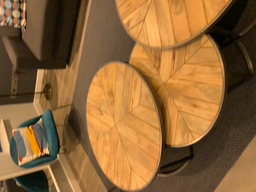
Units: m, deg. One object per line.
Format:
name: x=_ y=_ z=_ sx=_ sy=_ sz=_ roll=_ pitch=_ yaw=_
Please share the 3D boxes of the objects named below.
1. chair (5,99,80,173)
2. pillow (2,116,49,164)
chair: x=-1.170 y=0.520 z=2.840 sx=0.710 sy=0.680 sz=0.640 roll=-45 pitch=60 yaw=44
pillow: x=-1.350 y=0.570 z=2.820 sx=0.210 sy=0.440 sz=0.540 roll=-23 pitch=77 yaw=11
